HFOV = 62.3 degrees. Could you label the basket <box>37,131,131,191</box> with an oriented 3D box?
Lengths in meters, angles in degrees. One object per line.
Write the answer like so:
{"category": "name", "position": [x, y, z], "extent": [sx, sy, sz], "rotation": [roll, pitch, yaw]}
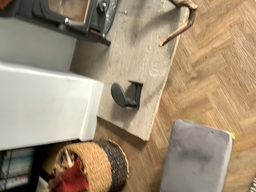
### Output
{"category": "basket", "position": [-0.250, 0.430, 1.250], "extent": [0.310, 0.370, 0.320], "rotation": [20, 99, 35]}

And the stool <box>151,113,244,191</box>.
{"category": "stool", "position": [0.310, 0.290, 0.970], "extent": [0.290, 0.170, 0.360], "rotation": [16, 97, 36]}
